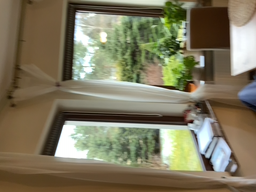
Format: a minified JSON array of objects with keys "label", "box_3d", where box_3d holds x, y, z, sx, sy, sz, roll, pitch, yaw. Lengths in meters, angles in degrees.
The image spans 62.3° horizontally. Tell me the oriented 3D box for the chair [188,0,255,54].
[{"label":"chair","box_3d":[1.060,-0.640,1.830,0.560,0.910,0.390,135,137,-85]}]
